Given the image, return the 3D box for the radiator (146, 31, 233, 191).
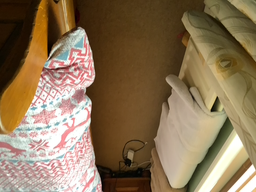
[{"bbox_3d":[0.270,0.370,1.420,0.140,0.570,1.440,-2,135,-2],"label":"radiator"}]
